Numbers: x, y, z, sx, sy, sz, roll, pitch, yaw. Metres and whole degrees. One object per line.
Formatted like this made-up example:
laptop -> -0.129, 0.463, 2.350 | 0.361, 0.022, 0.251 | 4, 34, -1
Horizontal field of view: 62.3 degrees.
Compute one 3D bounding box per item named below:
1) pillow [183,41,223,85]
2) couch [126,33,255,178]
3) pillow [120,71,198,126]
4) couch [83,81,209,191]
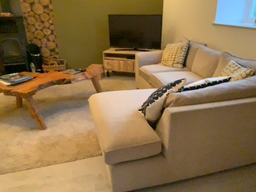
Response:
pillow -> 0.920, -0.420, 2.660 | 0.170, 0.330, 0.480 | -6, 42, -14
couch -> 0.750, -0.200, 2.600 | 1.000, 0.810, 2.190 | -6, 24, -14
pillow -> 0.240, -0.010, 1.740 | 0.410, 0.220, 0.460 | -18, 29, -35
couch -> 0.050, 0.280, 1.920 | 0.780, 0.470, 1.010 | -6, 24, -14
